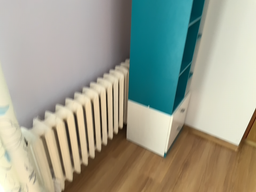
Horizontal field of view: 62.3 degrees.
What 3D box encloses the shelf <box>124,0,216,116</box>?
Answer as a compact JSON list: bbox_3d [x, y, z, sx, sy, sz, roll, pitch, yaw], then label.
[{"bbox_3d":[0.300,-0.440,1.570,0.420,1.010,0.470,23,39,26],"label":"shelf"}]
